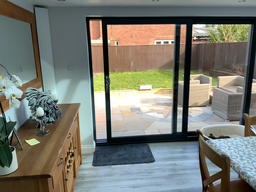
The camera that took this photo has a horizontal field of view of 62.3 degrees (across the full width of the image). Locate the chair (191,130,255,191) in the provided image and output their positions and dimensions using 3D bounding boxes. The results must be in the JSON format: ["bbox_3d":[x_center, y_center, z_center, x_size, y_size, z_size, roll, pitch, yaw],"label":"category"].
[{"bbox_3d":[0.810,0.800,1.630,0.490,0.930,0.460,-2,14,-4],"label":"chair"}]
